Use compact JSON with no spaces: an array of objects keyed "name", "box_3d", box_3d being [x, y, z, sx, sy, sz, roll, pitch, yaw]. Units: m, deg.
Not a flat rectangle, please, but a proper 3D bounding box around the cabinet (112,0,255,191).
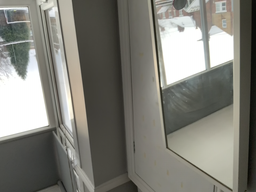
[{"name":"cabinet","box_3d":[0.290,-0.330,1.000,0.390,2.070,0.780,-14,-160,-29]}]
